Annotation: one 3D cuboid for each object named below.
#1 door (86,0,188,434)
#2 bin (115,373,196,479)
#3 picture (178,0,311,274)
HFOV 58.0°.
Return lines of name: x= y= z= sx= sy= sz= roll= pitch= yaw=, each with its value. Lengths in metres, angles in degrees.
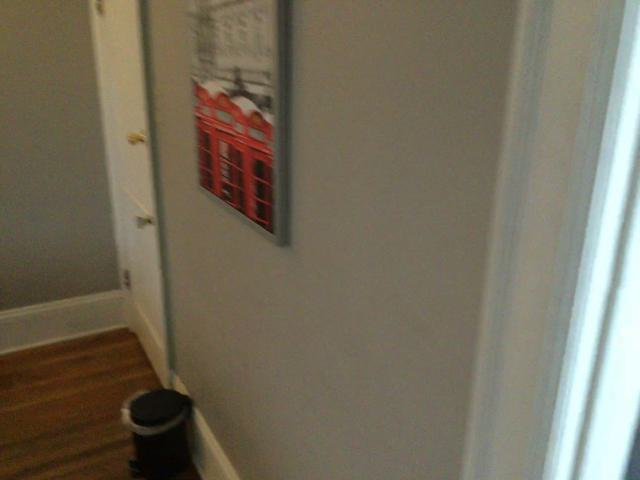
door: x=-0.840 y=-0.370 z=2.580 sx=0.130 sy=2.160 sz=1.050 roll=-7 pitch=19 yaw=-28
bin: x=-0.640 y=0.750 z=2.240 sx=0.230 sy=0.330 sz=0.270 roll=-7 pitch=19 yaw=-28
picture: x=-0.210 y=-0.420 z=1.390 sx=0.070 sy=0.840 sz=0.650 roll=-7 pitch=19 yaw=-28
